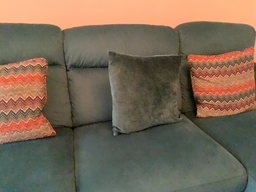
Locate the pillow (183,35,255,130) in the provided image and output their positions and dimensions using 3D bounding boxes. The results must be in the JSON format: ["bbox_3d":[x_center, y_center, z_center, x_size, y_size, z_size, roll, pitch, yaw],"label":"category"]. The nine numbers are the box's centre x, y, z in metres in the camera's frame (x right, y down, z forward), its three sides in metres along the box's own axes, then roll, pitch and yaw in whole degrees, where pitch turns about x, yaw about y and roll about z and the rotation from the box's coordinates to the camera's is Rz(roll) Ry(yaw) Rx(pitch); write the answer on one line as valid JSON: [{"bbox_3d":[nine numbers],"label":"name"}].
[{"bbox_3d":[0.650,-0.090,1.370,0.450,0.410,0.190,-29,28,-7],"label":"pillow"}]

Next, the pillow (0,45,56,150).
[{"bbox_3d":[-0.620,0.030,1.000,0.410,0.390,0.190,-21,27,-8],"label":"pillow"}]

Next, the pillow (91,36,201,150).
[{"bbox_3d":[0.110,-0.030,1.180,0.470,0.440,0.240,-22,28,-11],"label":"pillow"}]
